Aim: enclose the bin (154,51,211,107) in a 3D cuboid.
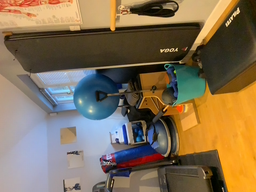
[{"bbox_3d":[0.590,-0.180,2.410,0.380,0.440,0.490,108,155,-74],"label":"bin"}]
